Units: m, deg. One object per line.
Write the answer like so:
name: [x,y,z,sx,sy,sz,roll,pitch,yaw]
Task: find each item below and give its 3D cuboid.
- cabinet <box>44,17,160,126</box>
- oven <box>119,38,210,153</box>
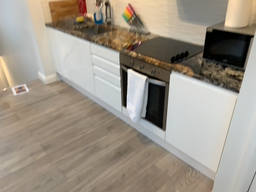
cabinet: [-0.400,-0.440,2.840,0.590,0.880,1.580,-27,39,-35]
oven: [0.340,-0.040,2.160,0.580,0.870,0.590,-27,39,-35]
